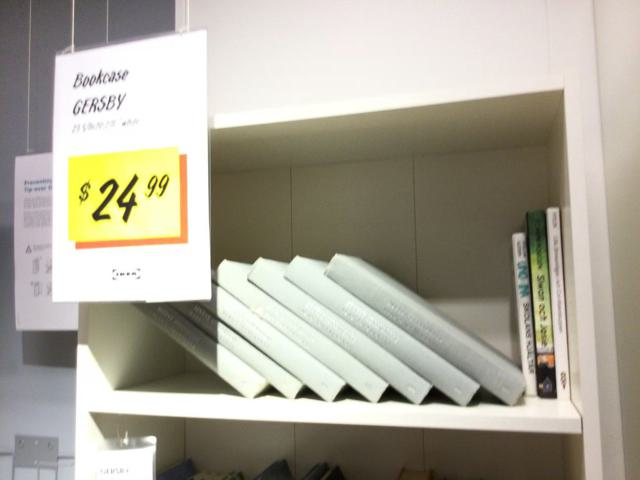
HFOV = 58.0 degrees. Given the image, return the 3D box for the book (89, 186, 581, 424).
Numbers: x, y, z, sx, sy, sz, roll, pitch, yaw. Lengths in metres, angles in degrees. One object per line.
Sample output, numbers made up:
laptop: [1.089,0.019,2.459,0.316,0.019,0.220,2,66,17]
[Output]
book: [0.000,0.080,0.710,0.560,0.230,0.140,-3,-5,17]
